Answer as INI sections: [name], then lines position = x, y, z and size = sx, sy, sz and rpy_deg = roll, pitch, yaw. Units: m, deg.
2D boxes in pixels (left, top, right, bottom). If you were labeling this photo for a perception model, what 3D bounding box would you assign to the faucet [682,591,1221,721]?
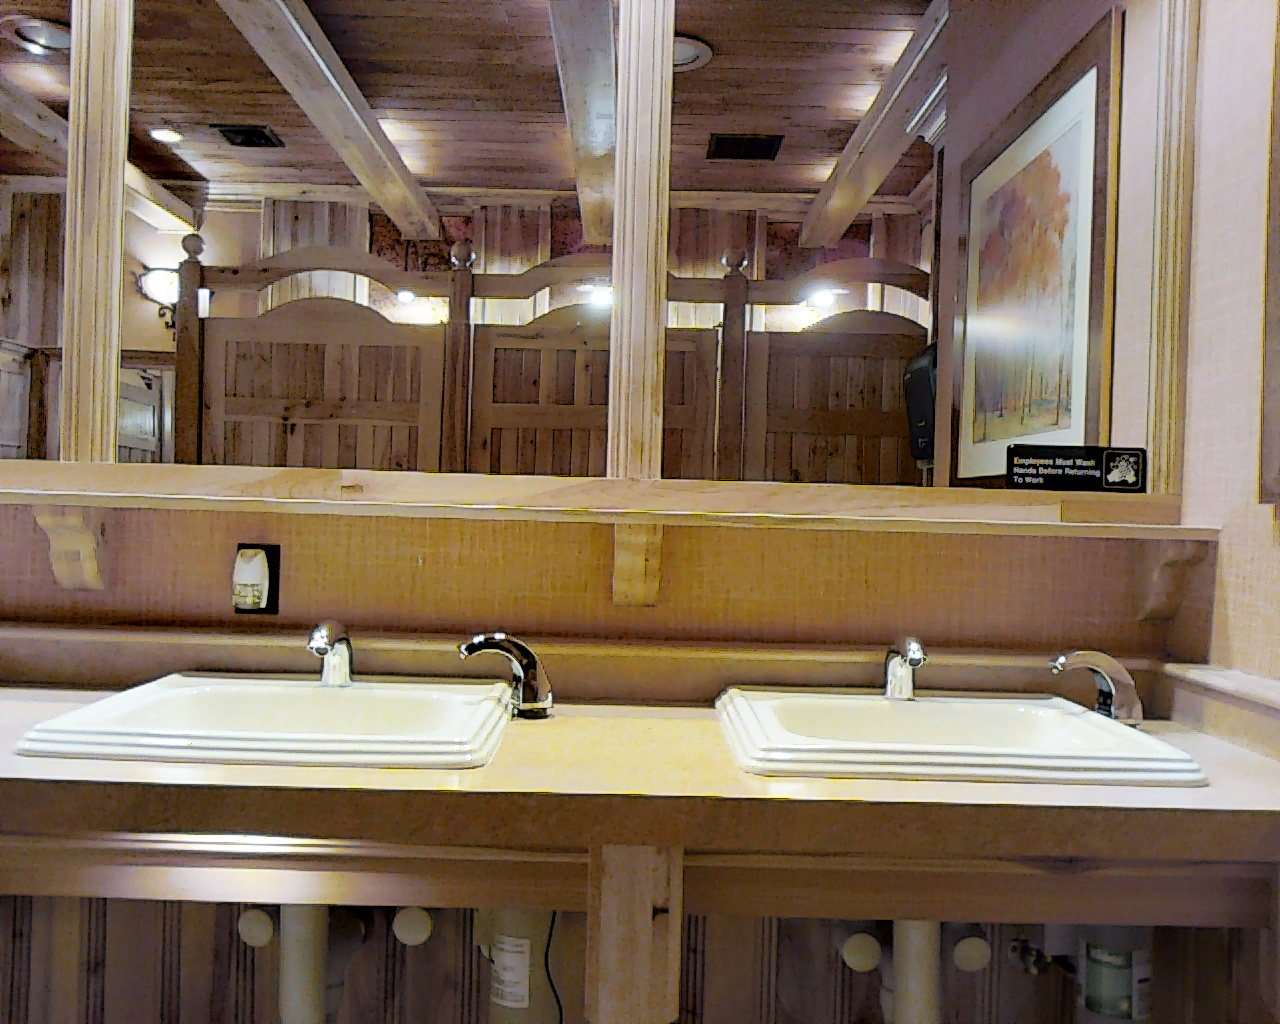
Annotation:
[faucet]
position = 0.490, 0.230, 1.740
size = 0.830, 0.170, 0.150
rpy_deg = 2, 0, -2
